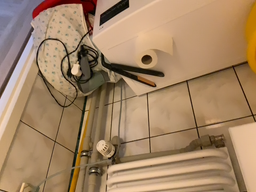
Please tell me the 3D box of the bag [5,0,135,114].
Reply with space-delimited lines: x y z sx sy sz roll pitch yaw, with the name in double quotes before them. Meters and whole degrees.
"bag" -0.230 -0.170 1.030 0.360 0.240 0.470 -16 139 22
